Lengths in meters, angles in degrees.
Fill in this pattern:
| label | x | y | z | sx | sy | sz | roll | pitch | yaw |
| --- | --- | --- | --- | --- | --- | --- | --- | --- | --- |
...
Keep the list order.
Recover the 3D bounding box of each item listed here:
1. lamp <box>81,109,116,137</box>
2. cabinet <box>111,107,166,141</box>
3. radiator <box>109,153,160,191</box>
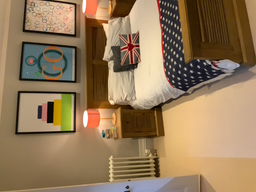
| label | x | y | z | sx | sy | sz | roll | pitch | yaw |
| --- | --- | --- | --- | --- | --- | --- | --- | --- | --- |
| lamp | -0.470 | 0.430 | 3.300 | 0.450 | 0.460 | 0.370 | 140 | 128 | -68 |
| cabinet | 0.150 | 0.440 | 3.310 | 0.450 | 0.720 | 0.460 | 142 | 127 | -68 |
| radiator | 0.110 | 1.360 | 3.140 | 0.150 | 0.720 | 0.940 | 137 | 131 | -67 |
